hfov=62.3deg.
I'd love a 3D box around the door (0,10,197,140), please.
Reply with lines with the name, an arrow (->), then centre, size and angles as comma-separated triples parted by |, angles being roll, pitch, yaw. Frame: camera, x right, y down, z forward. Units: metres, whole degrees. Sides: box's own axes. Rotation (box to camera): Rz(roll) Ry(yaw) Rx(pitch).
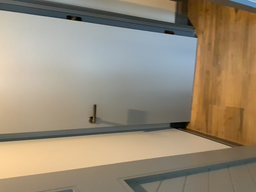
door -> -0.360, -0.110, 1.440 | 0.060, 2.020, 0.750 | -162, 74, -63
